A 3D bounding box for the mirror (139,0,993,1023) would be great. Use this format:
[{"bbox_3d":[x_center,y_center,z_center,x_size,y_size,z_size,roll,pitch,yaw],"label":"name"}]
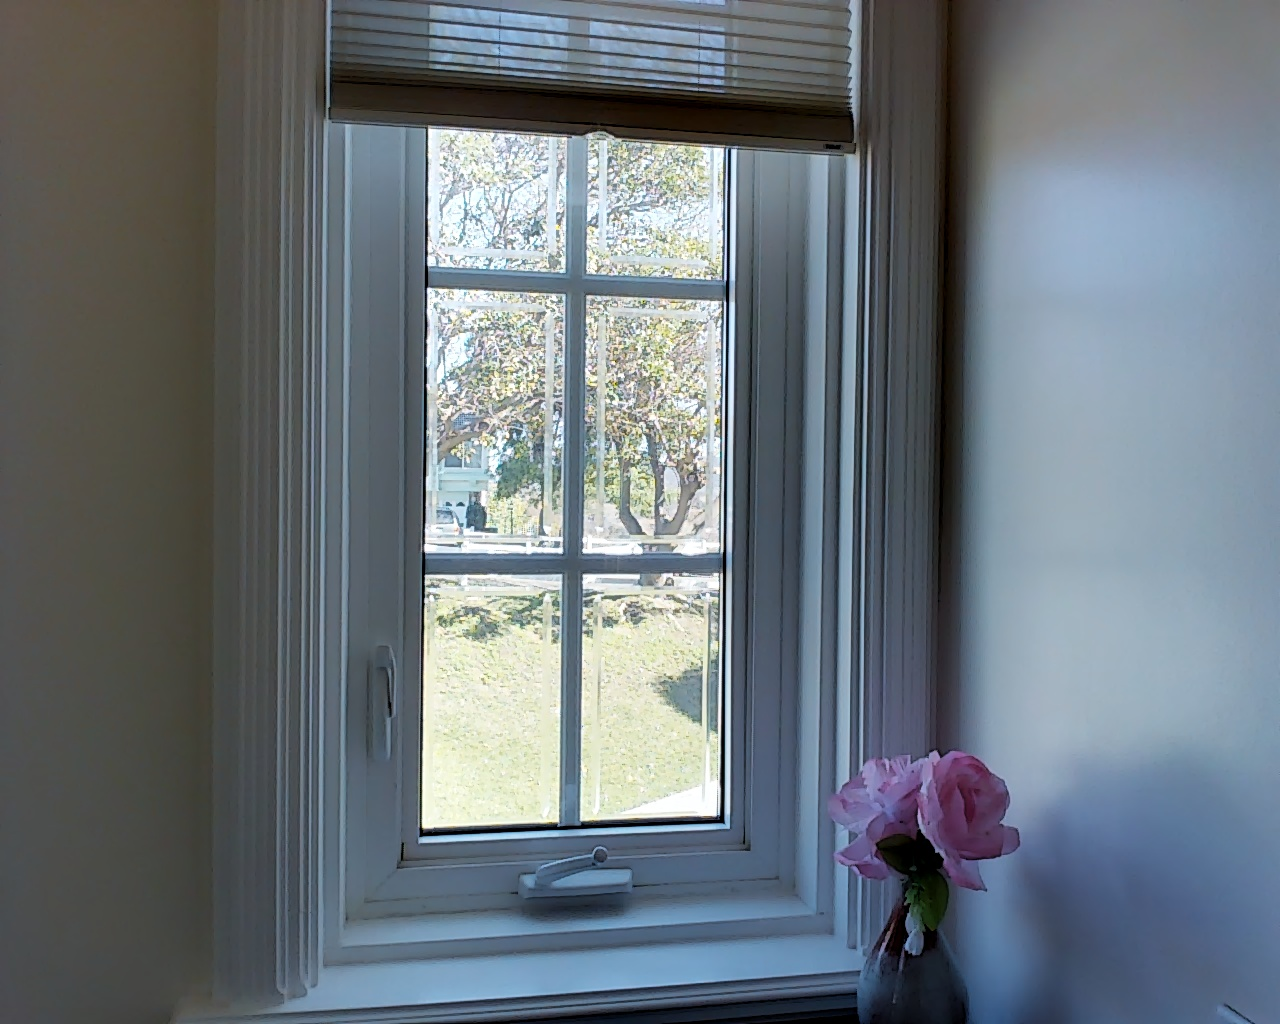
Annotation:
[{"bbox_3d":[-0.060,-0.280,1.130,0.790,1.700,0.240,1,1,-11],"label":"mirror"}]
